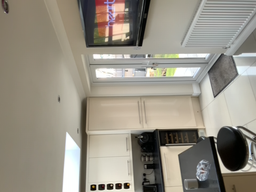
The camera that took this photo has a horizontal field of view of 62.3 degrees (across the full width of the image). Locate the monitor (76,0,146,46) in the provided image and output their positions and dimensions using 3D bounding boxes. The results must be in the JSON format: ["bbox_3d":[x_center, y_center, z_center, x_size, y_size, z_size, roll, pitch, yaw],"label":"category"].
[{"bbox_3d":[-0.160,-0.820,2.070,0.970,0.630,0.050,100,168,-65],"label":"monitor"}]
